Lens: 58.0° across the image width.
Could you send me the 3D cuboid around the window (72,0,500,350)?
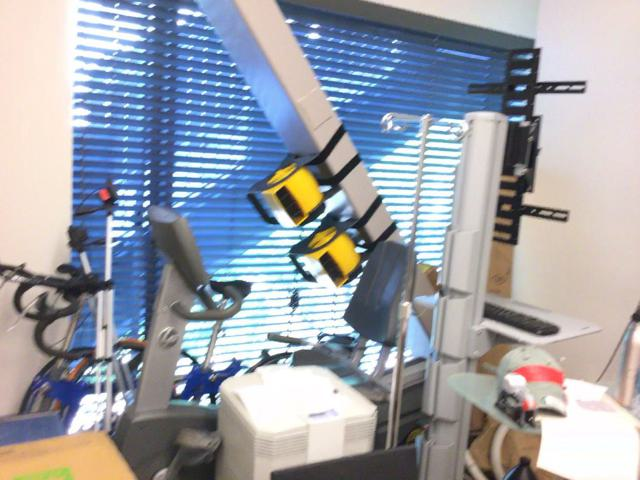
[{"bbox_3d":[-0.040,-0.340,2.720,2.060,1.490,0.230,0,5,-28],"label":"window"}]
